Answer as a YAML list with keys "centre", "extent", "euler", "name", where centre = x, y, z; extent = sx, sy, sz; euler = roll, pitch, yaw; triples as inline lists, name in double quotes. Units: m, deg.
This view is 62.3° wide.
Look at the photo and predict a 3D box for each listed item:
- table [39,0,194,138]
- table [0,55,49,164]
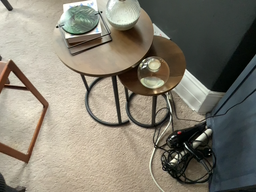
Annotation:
- centre: [-0.020, -0.120, 1.050]
  extent: [0.490, 0.570, 0.390]
  euler: [14, 64, 8]
  name: "table"
- centre: [-0.660, 0.080, 1.040]
  extent: [0.280, 0.440, 0.380]
  euler: [7, 63, 5]
  name: "table"
